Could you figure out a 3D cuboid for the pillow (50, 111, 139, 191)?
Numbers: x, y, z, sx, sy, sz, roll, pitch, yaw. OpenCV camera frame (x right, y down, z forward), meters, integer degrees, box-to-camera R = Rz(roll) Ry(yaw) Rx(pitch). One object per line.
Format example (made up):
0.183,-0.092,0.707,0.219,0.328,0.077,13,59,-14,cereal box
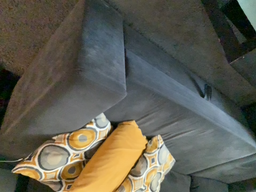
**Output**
-0.160,0.370,1.210,0.320,0.370,0.460,-19,158,-2,pillow
